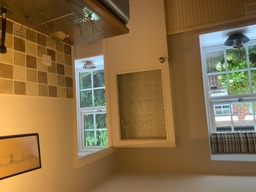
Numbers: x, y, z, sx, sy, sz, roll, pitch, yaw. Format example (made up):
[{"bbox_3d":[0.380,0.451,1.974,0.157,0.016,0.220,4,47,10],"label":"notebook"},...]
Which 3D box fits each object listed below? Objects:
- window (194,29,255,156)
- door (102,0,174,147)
[{"bbox_3d":[1.390,-0.040,2.700,0.940,1.550,0.100,-4,175,19],"label":"window"},{"bbox_3d":[0.090,-0.370,2.590,0.810,1.940,0.030,-4,175,18],"label":"door"}]
